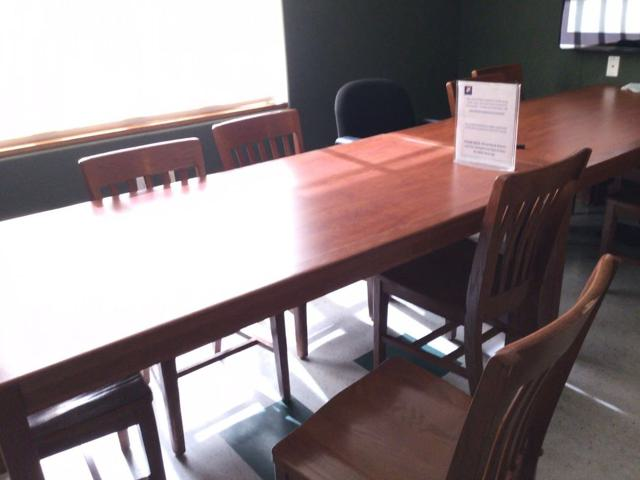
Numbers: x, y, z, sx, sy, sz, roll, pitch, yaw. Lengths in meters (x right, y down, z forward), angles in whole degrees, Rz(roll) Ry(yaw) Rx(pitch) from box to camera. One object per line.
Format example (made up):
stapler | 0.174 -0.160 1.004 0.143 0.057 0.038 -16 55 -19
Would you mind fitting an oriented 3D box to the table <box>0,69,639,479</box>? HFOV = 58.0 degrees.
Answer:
table | 0.540 -0.040 2.370 3.630 0.820 1.050 -20 28 -34
